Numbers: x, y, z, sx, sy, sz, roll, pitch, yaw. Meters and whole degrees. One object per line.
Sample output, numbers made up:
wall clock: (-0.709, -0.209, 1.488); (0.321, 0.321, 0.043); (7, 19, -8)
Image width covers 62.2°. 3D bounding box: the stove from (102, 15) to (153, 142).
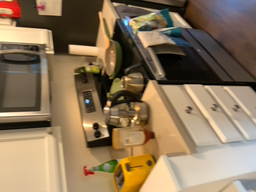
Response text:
stove: (-0.060, -0.150, 1.670); (0.780, 0.040, 0.640); (-112, 30, -41)
